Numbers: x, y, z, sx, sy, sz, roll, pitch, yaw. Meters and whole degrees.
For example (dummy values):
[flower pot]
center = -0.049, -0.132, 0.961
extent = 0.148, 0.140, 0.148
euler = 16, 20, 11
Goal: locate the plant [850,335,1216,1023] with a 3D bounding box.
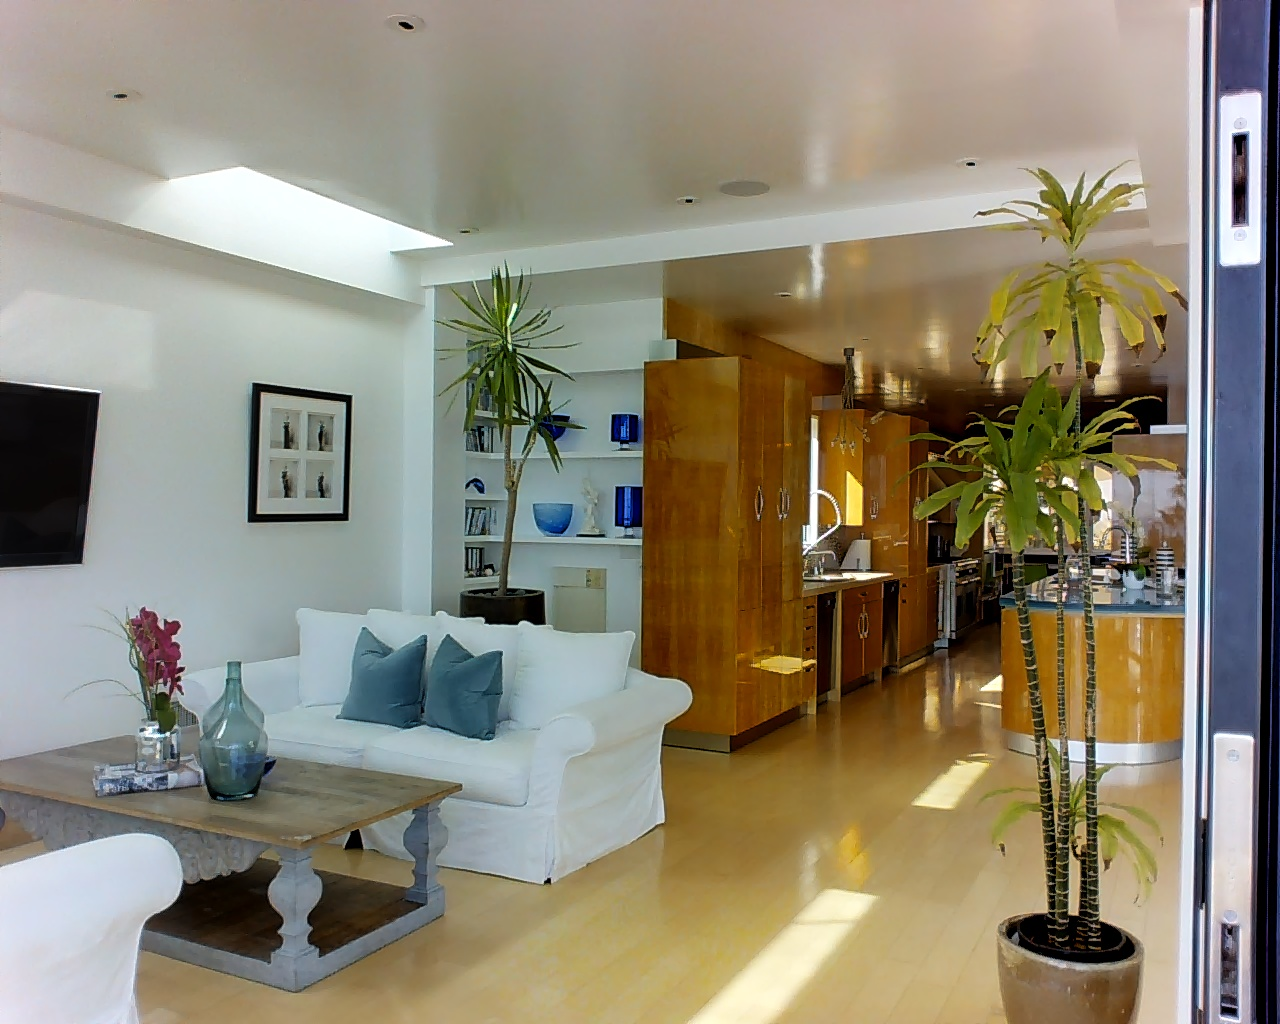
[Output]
[plant]
center = 1.080, 0.510, 2.940
extent = 0.830, 1.831, 0.590
euler = 0, 1, -40

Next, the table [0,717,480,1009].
[table]
center = -1.659, 1.201, 4.030
extent = 1.929, 0.520, 0.900
euler = 1, 1, 27

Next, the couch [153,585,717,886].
[couch]
center = -1.000, 0.920, 5.160
extent = 2.469, 0.970, 1.150
euler = 1, 1, 27
